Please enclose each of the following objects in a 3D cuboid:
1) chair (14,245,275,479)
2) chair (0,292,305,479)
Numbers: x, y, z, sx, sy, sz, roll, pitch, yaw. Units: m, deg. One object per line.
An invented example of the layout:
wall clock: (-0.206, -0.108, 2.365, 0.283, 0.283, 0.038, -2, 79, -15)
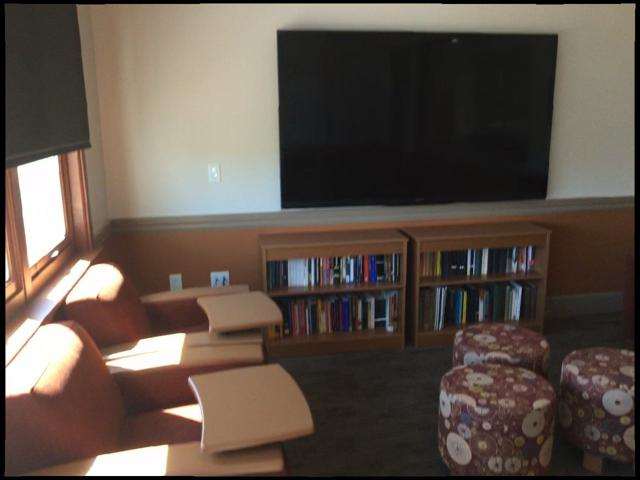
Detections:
chair: (-0.699, 0.551, 2.610, 0.908, 0.842, 0.800, -3, 14, -8)
chair: (-0.539, 0.721, 1.850, 0.868, 0.802, 0.890, -3, 14, -9)
